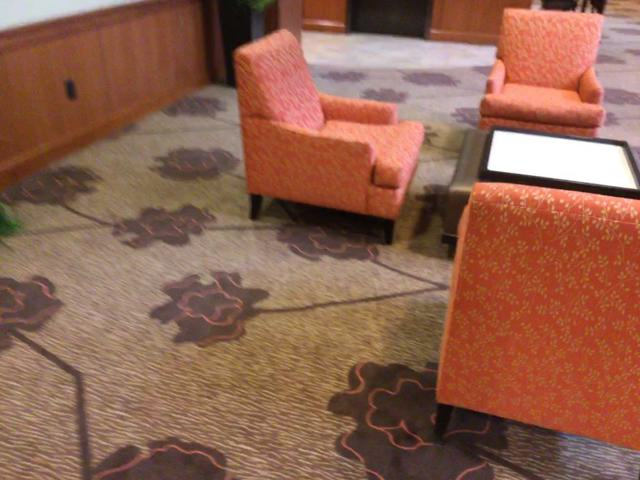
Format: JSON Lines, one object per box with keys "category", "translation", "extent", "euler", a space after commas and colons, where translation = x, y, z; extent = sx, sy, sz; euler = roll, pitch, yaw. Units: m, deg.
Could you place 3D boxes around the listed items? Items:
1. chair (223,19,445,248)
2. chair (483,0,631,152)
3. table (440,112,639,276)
{"category": "chair", "translation": [0.140, -0.590, 3.040], "extent": [0.900, 0.960, 0.770], "euler": [4, 26, 19]}
{"category": "chair", "translation": [1.520, -1.130, 3.820], "extent": [0.750, 0.870, 0.840], "euler": [4, 26, 19]}
{"category": "table", "translation": [1.160, -0.290, 2.870], "extent": [0.940, 0.460, 1.020], "euler": [7, 24, 18]}
